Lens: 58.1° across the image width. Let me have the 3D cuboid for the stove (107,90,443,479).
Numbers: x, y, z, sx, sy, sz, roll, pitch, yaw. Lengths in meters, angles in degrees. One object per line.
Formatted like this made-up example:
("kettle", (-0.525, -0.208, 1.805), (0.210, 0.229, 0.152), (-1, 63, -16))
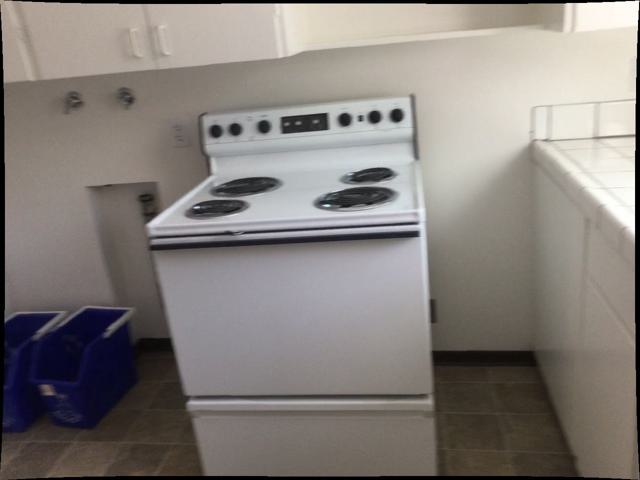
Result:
("stove", (-0.040, 0.150, 1.980), (0.799, 1.112, 0.760), (-4, 22, 9))
